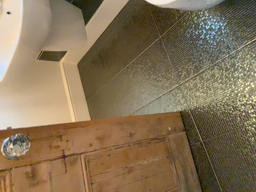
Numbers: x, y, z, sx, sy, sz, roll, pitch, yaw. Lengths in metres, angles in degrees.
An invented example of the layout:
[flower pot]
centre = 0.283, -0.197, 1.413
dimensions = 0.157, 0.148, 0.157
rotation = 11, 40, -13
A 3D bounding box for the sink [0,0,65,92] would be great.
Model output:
[sink]
centre = -0.610, -0.370, 1.170
dimensions = 0.660, 0.170, 0.450
rotation = -35, 67, 43
